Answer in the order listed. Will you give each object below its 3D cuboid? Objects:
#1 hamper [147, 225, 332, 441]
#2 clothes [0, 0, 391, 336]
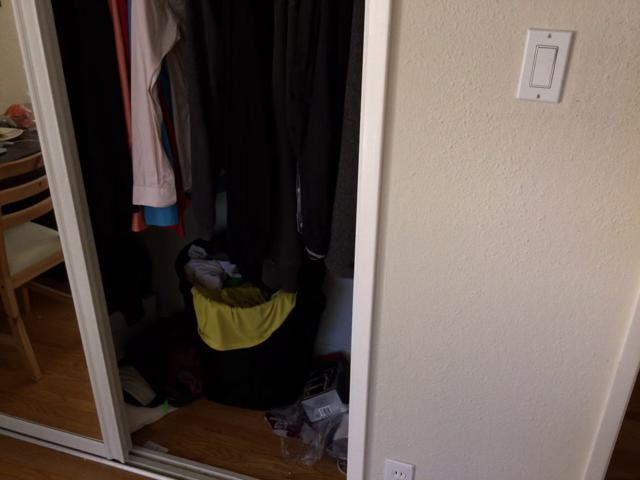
[{"bbox_3d":[-0.230,0.300,1.960,0.510,0.580,0.390,2,24,6],"label":"hamper"},{"bbox_3d":[-0.340,-0.380,1.470,0.960,1.040,0.420,6,25,15],"label":"clothes"}]
